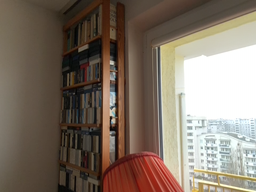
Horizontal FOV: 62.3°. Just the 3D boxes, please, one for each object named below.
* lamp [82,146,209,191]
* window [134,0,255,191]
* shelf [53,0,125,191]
[{"bbox_3d":[0.080,0.600,1.080,0.450,0.600,0.470,6,-9,-40],"label":"lamp"},{"bbox_3d":[0.390,0.170,1.070,0.090,1.440,0.910,7,-10,-44],"label":"window"},{"bbox_3d":[-0.300,0.550,1.500,0.200,2.520,0.620,6,-9,-42],"label":"shelf"}]
